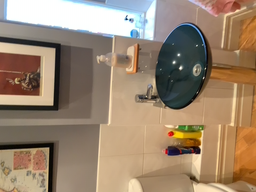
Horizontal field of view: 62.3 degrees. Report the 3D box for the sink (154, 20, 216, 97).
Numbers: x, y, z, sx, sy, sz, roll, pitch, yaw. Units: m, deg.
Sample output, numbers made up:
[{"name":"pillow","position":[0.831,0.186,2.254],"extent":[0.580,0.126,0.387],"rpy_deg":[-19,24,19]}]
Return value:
[{"name":"sink","position":[0.320,-0.190,1.230],"extent":[0.250,0.230,0.380],"rpy_deg":[180,91,-68]}]
